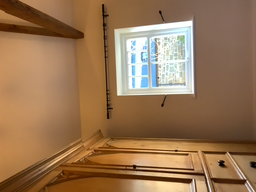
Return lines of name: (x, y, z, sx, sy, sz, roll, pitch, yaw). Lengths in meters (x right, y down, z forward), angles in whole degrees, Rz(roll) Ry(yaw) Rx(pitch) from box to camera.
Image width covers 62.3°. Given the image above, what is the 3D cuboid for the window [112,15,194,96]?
window: (0.370, -0.550, 3.130, 0.320, 1.100, 1.050, -20, -72, -76)
